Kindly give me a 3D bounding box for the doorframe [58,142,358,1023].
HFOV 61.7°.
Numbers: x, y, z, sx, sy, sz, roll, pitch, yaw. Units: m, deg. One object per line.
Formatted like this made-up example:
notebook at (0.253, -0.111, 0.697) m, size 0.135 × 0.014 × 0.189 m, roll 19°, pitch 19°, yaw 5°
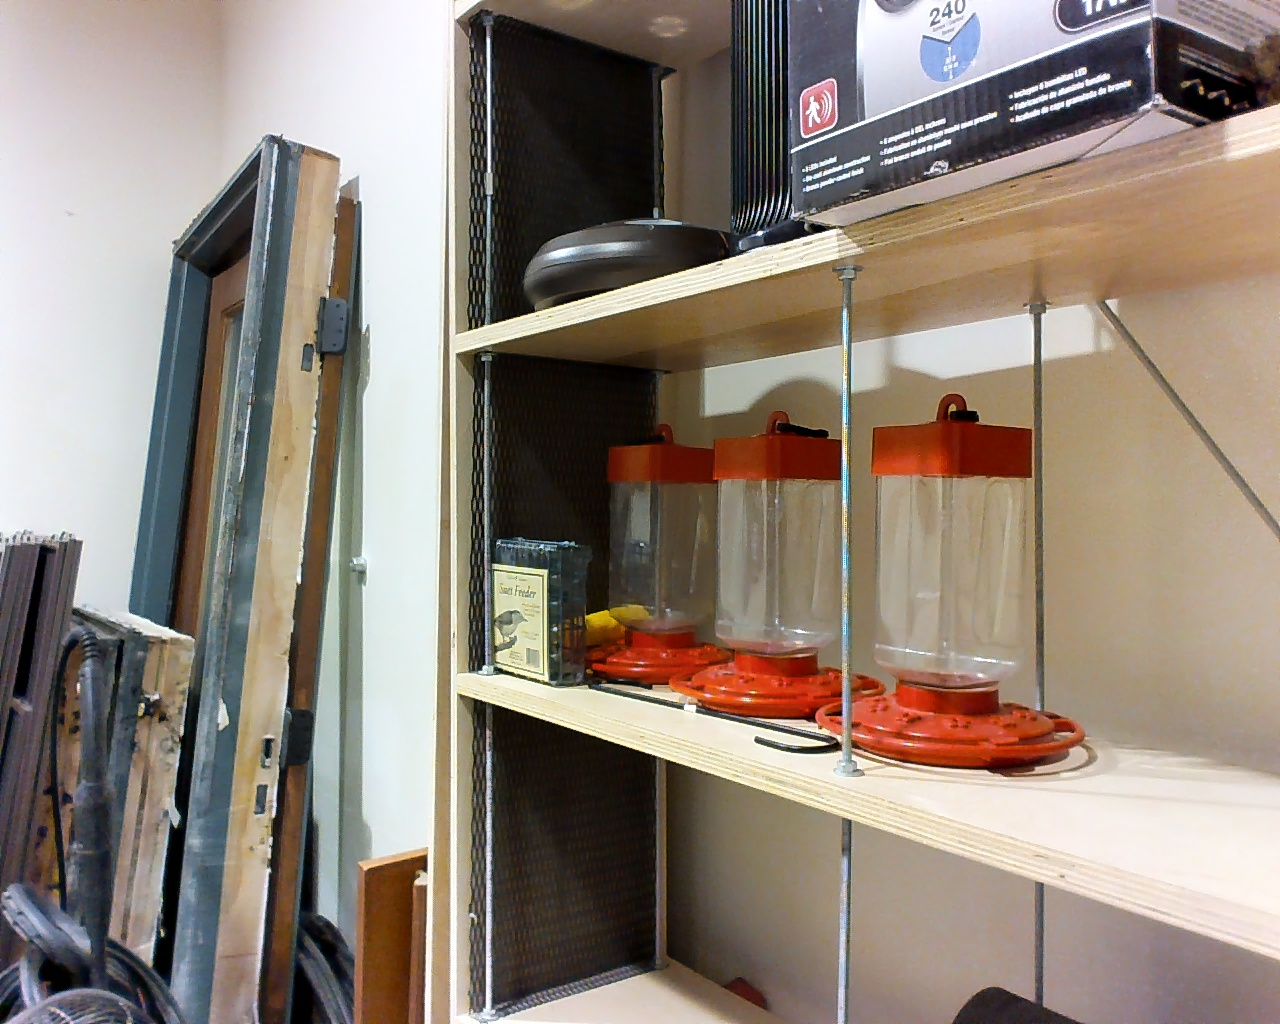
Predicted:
doorframe at (-0.990, 0.370, 2.340) m, size 0.180 × 2.080 × 0.980 m, roll 8°, pitch -5°, yaw -35°
